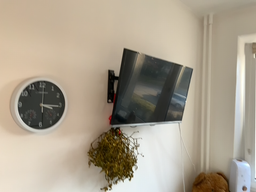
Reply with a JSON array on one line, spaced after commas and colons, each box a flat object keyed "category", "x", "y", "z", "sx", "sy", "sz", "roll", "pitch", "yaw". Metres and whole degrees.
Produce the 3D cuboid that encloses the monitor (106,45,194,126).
[{"category": "monitor", "x": 0.190, "y": -0.050, "z": 1.390, "sx": 0.090, "sy": 0.420, "sz": 0.740, "roll": 13, "pitch": 7, "yaw": 43}]
